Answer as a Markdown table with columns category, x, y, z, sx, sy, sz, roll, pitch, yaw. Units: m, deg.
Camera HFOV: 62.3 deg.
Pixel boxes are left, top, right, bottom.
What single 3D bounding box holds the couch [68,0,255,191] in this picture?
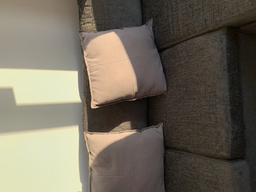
| category | x | y | z | sx | sy | sz | roll | pitch | yaw |
| --- | --- | --- | --- | --- | --- | --- | --- | --- | --- |
| couch | 0.210 | 0.090 | 1.490 | 1.140 | 0.830 | 2.290 | -4 | 88 | 56 |

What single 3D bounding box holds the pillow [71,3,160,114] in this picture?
| category | x | y | z | sx | sy | sz | roll | pitch | yaw |
| --- | --- | --- | --- | --- | --- | --- | --- | --- | --- |
| pillow | -0.050 | -0.230 | 1.420 | 0.210 | 0.480 | 0.550 | -25 | 48 | 49 |
